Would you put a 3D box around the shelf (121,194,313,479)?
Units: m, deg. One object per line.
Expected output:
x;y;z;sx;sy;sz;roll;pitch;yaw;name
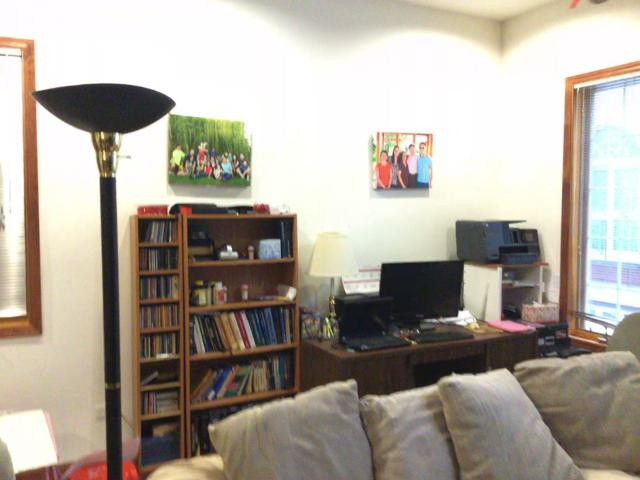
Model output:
-0.580;0.520;3.350;1.010;1.540;0.310;-2;1;-28;shelf

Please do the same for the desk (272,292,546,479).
0.570;0.840;3.590;1.570;0.860;0.680;-2;1;-28;desk
